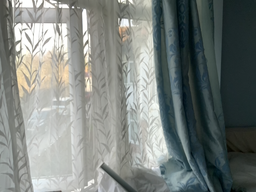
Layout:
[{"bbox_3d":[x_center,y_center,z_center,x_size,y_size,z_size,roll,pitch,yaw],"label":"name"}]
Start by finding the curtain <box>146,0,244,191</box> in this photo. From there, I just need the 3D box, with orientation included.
[{"bbox_3d":[0.360,-0.180,1.140,0.460,1.450,0.280,-7,10,-38],"label":"curtain"}]
